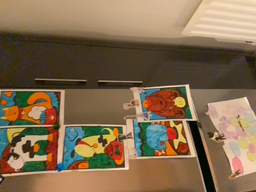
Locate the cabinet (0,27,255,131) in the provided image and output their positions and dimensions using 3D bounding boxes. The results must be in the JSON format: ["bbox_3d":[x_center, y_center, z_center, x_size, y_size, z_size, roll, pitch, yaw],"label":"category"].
[{"bbox_3d":[-0.190,-0.060,1.510,0.610,2.330,0.410,120,147,-60],"label":"cabinet"}]
